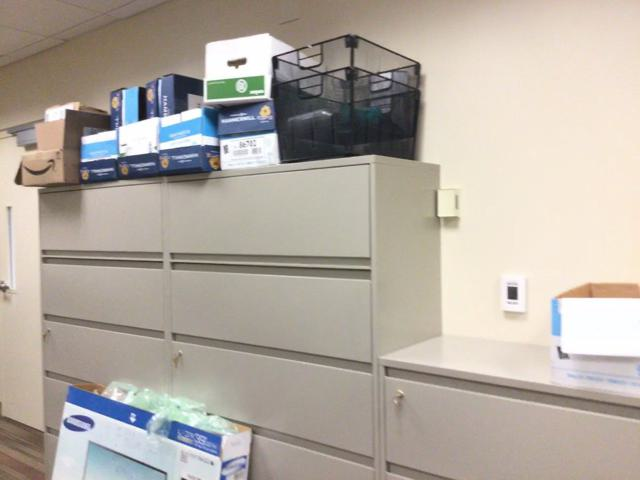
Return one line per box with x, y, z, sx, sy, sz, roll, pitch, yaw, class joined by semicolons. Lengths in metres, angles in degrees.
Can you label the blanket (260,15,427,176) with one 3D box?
0.090;-0.480;2.080;0.430;0.420;0.420;-2;-2;36;blanket
